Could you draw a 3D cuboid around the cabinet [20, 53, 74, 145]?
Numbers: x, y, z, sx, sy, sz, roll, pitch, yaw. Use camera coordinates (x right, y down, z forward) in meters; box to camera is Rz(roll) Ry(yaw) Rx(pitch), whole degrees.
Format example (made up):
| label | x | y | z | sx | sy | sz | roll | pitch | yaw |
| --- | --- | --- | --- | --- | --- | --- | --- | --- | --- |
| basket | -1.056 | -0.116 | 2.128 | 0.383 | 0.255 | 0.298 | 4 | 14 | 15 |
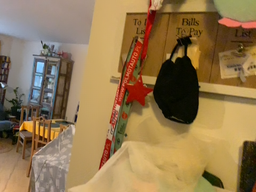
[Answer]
| label | x | y | z | sx | sy | sz | roll | pitch | yaw |
| --- | --- | --- | --- | --- | --- | --- | --- | --- | --- |
| cabinet | -2.040 | 0.050 | 5.350 | 0.910 | 2.100 | 0.470 | 10 | 2 | 25 |
